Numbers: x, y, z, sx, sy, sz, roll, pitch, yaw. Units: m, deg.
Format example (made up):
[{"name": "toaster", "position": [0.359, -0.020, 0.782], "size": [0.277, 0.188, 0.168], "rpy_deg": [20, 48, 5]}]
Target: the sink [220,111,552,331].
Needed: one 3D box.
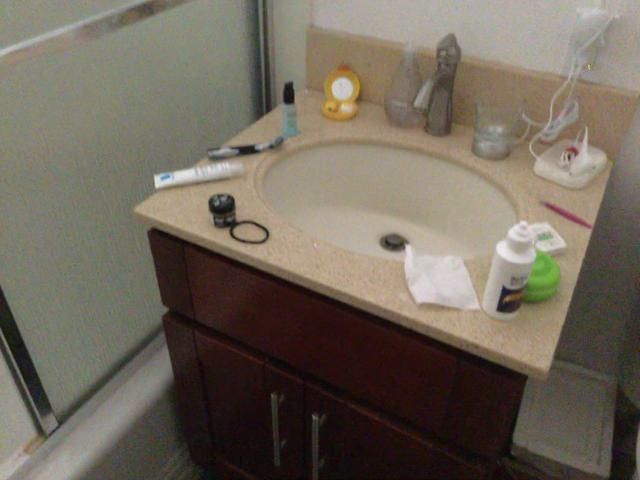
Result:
[{"name": "sink", "position": [0.120, -0.070, 1.110], "size": [0.530, 0.140, 0.310], "rpy_deg": [20, 41, 25]}]
